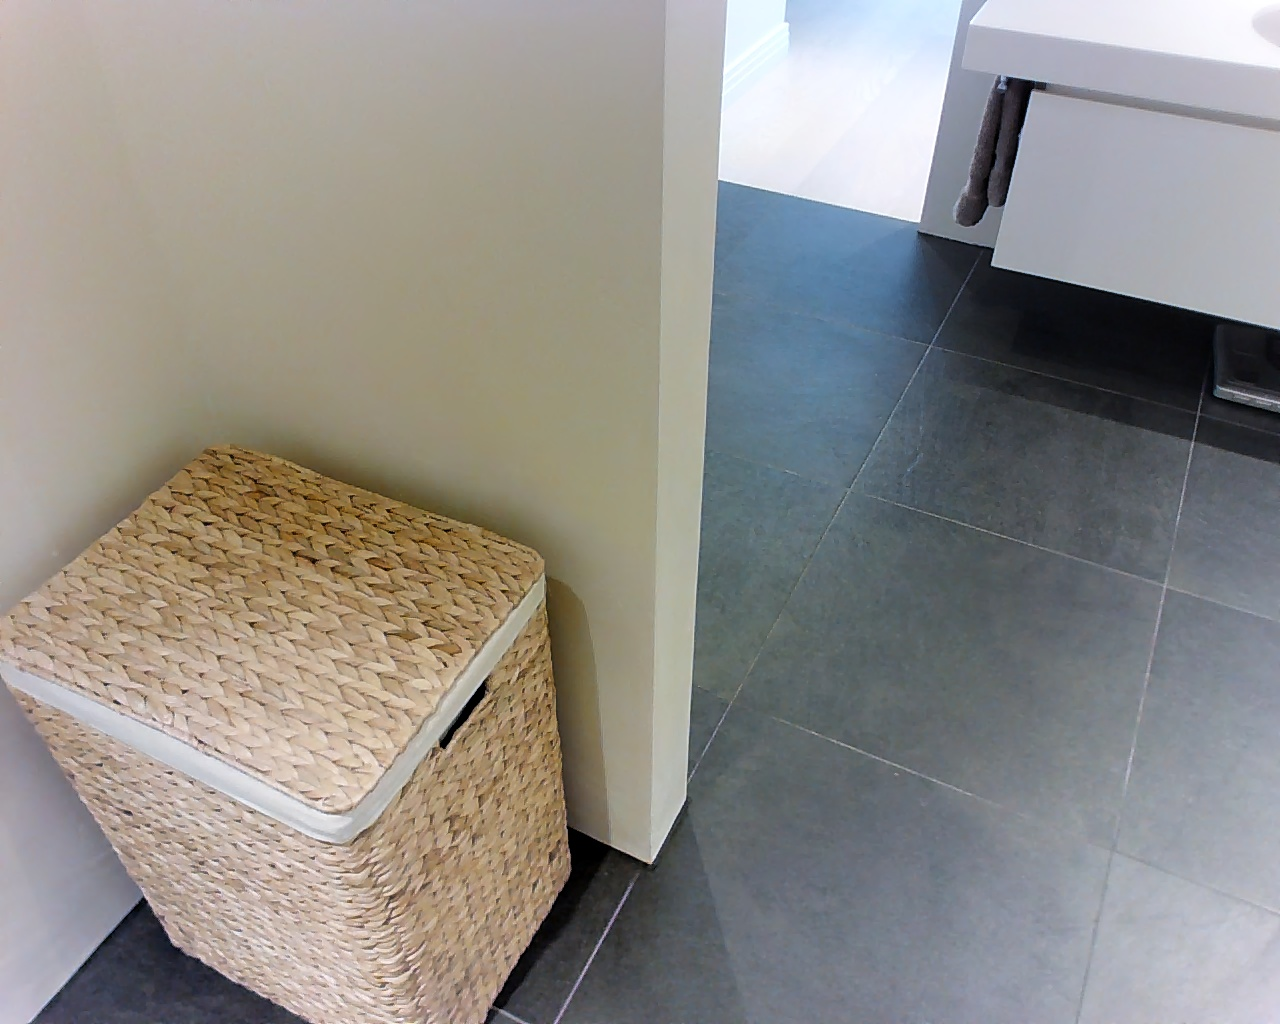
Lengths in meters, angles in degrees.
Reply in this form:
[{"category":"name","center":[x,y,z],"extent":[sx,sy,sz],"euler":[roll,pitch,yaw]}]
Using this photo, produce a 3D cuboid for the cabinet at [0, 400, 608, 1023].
[{"category":"cabinet","center":[-0.380,0.300,1.290],"extent":[0.530,0.440,0.610],"euler":[19,-45,20]}]
